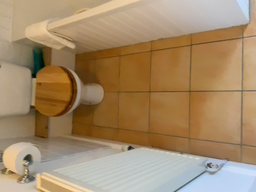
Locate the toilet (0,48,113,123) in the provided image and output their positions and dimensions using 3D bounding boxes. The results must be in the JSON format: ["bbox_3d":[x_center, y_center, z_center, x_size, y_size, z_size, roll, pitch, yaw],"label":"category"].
[{"bbox_3d":[-0.630,-0.040,1.690,0.680,0.760,0.420,-1,87,37],"label":"toilet"}]
